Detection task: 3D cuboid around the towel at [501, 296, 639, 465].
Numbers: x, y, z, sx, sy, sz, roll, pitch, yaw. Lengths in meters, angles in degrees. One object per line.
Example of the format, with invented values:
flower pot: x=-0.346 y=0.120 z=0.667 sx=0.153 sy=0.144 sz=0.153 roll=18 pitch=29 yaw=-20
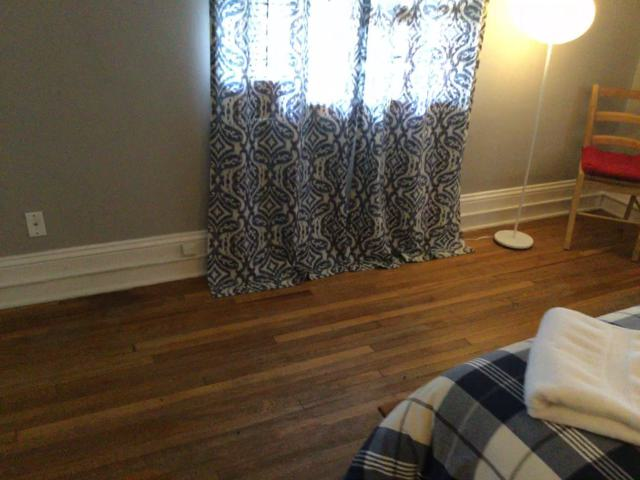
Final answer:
towel: x=0.570 y=0.270 z=1.170 sx=0.310 sy=0.080 sz=0.360 roll=13 pitch=29 yaw=26
